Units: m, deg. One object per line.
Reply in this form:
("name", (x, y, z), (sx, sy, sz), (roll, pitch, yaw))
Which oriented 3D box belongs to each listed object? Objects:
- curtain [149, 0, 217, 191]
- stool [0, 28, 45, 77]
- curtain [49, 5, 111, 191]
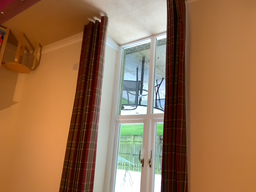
("curtain", (0.400, 0.060, 1.560), (0.400, 2.180, 0.180), (-5, 162, 31))
("stool", (-1.510, -0.580, 2.940), (0.460, 0.450, 0.410), (-6, 162, 34))
("curtain", (-0.490, 0.190, 2.170), (0.420, 2.380, 0.140), (-5, 163, 30))
